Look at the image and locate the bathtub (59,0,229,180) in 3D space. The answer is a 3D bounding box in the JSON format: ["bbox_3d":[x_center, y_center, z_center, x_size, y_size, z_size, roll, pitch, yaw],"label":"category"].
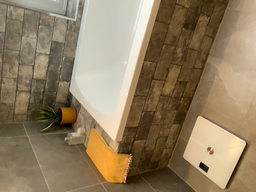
[{"bbox_3d":[0.130,-0.660,1.410,0.810,0.560,2.210,35,116,46],"label":"bathtub"}]
